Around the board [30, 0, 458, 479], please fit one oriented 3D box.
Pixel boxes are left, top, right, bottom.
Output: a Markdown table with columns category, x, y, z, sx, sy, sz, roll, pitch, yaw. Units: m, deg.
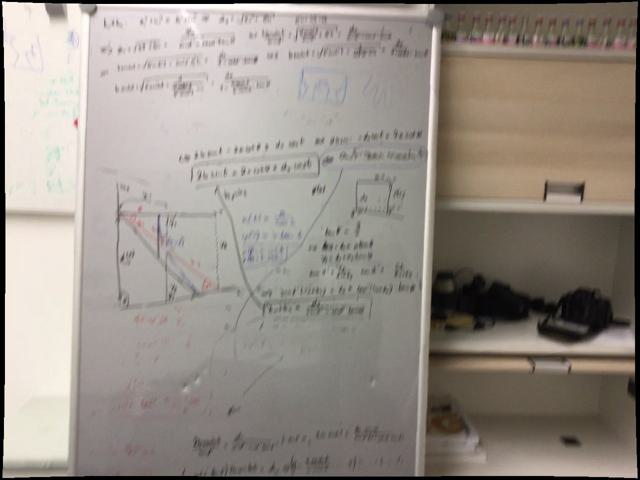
| category | x | y | z | sx | sy | sz | roll | pitch | yaw |
| --- | --- | --- | --- | --- | --- | --- | --- | --- | --- |
| board | -0.180 | 0.270 | 1.470 | 0.999 | 1.872 | 0.210 | -1 | -1 | 1 |
